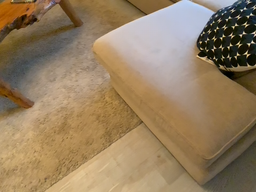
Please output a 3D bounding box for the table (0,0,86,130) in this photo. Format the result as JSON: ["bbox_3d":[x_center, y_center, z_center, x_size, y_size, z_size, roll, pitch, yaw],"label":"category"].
[{"bbox_3d":[-0.960,-0.460,1.670,0.780,0.490,1.250,8,53,11],"label":"table"}]

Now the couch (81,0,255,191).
[{"bbox_3d":[0.370,-0.150,1.240,0.810,0.610,0.910,-32,56,-19],"label":"couch"}]
